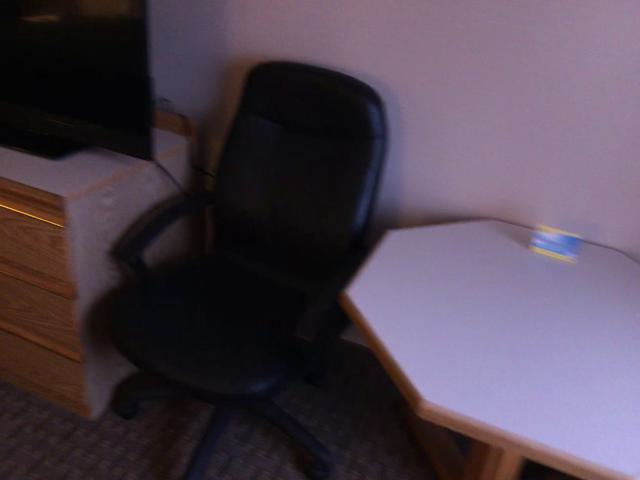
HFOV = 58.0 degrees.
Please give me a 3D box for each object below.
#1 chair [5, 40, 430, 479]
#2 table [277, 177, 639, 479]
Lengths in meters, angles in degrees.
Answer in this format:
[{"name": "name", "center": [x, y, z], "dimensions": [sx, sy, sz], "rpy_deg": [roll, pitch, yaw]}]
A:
[{"name": "chair", "center": [-0.220, 0.090, 1.590], "dimensions": [0.700, 1.030, 0.750], "rpy_deg": [16, 29, 14]}, {"name": "table", "center": [0.450, 0.430, 1.410], "dimensions": [0.860, 0.760, 0.810], "rpy_deg": [16, 29, 14]}]
